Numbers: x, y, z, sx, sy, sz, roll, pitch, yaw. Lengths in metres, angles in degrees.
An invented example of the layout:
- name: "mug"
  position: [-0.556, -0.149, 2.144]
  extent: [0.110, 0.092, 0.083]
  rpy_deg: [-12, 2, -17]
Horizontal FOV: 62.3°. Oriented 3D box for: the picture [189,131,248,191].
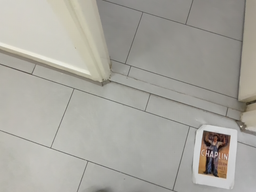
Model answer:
- name: "picture"
  position: [0.450, 0.340, 1.050]
  extent: [0.240, 0.020, 0.280]
  rpy_deg: [12, 81, 3]
